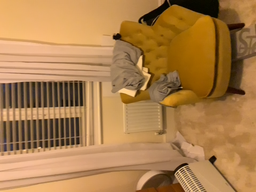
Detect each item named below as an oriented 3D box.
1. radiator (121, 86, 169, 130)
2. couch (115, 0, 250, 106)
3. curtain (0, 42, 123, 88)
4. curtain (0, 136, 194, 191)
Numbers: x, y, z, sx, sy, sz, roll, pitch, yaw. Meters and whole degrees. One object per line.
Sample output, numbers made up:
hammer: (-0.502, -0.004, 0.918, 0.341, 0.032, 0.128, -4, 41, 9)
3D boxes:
radiator: (0.180, 0.110, 2.180, 0.120, 0.480, 0.420, 180, 89, -65)
couch: (0.380, -0.300, 1.710, 0.750, 0.740, 0.690, -178, 87, -65)
curtain: (-0.820, -0.240, 1.740, 0.180, 1.600, 0.330, 177, 92, -65)
curtain: (-0.440, 0.630, 1.750, 0.270, 2.270, 0.330, 180, 89, -65)
